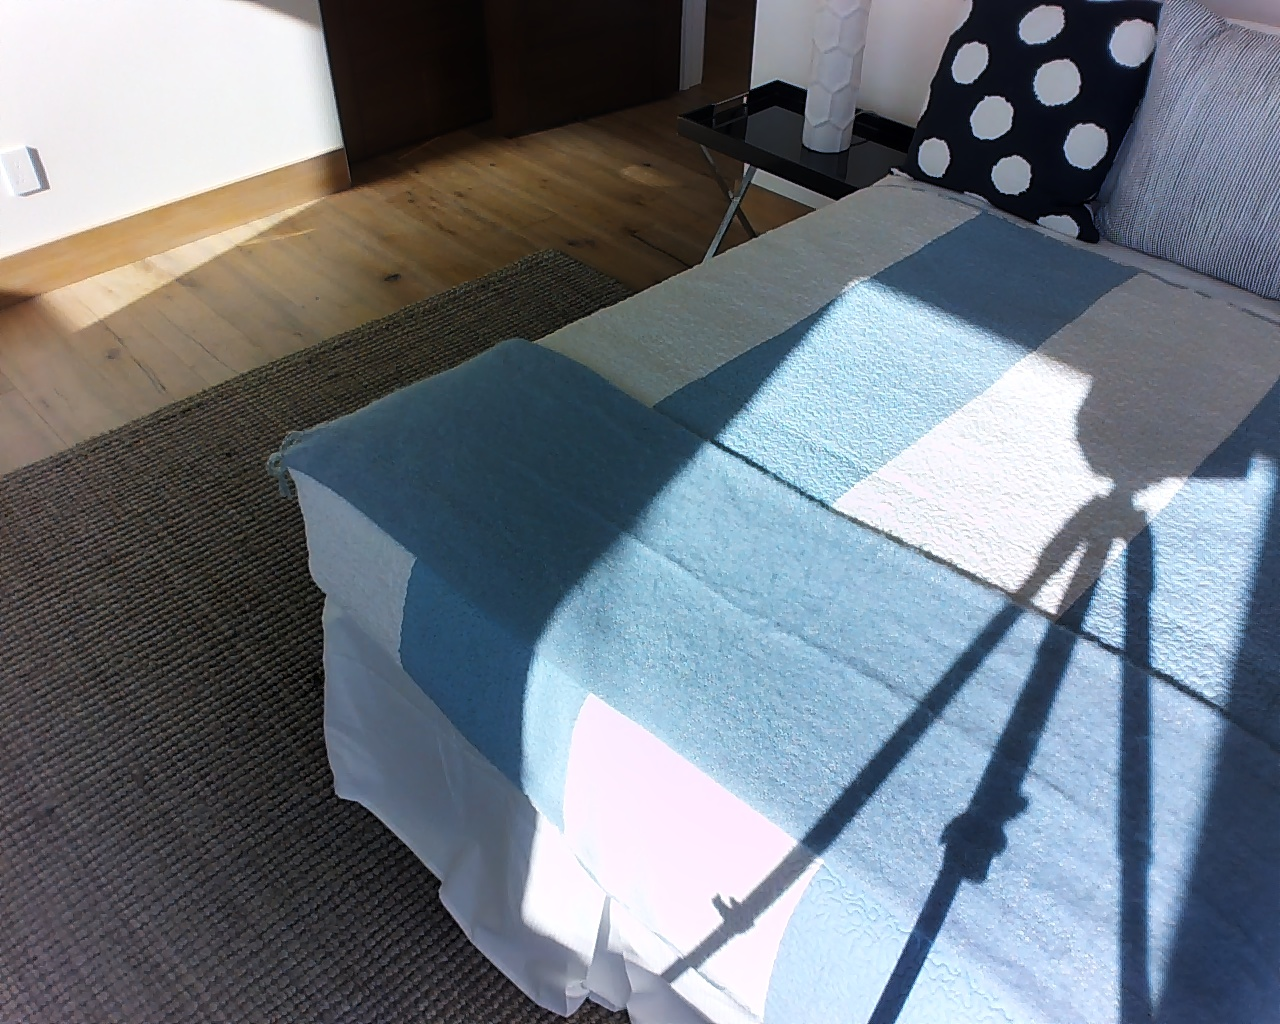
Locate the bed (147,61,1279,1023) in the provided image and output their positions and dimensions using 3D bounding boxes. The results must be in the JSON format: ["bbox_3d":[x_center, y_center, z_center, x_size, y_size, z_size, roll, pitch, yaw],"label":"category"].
[{"bbox_3d":[0.630,0.020,1.850,2.160,0.680,1.520,-33,51,-32],"label":"bed"}]
